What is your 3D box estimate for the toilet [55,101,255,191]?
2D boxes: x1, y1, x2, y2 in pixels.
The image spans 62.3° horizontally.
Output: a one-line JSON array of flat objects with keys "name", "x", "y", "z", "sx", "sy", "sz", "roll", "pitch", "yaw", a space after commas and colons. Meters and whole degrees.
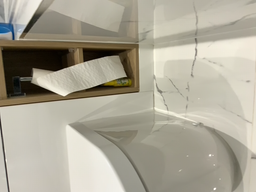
[{"name": "toilet", "x": 0.080, "y": 0.260, "z": 0.660, "sx": 0.520, "sy": 0.450, "sz": 0.370, "roll": 13, "pitch": 107, "yaw": 58}]
